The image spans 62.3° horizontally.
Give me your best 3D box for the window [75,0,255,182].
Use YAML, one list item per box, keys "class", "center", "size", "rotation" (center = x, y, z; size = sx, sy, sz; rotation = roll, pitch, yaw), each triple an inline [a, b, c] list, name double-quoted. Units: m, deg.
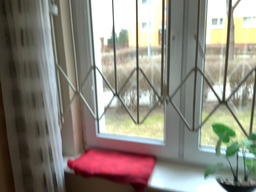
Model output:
- class: "window"
  center: [0.500, -0.290, 1.050]
  size: [1.610, 1.490, 0.120]
  rotation: [3, 15, 17]
